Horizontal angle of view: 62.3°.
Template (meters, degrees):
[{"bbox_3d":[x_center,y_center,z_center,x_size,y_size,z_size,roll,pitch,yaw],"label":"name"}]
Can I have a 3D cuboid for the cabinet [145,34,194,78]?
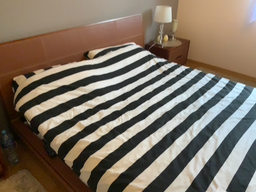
[{"bbox_3d":[0.640,-0.650,3.300,0.430,0.440,0.620,26,39,34],"label":"cabinet"}]
